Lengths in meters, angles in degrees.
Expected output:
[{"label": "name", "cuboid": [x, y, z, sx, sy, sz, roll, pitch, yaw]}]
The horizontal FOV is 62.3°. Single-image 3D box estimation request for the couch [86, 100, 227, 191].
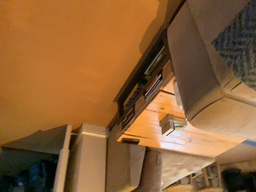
[{"label": "couch", "cuboid": [0.160, 0.820, 2.190, 0.880, 0.880, 1.190, 14, 140, -21]}]
